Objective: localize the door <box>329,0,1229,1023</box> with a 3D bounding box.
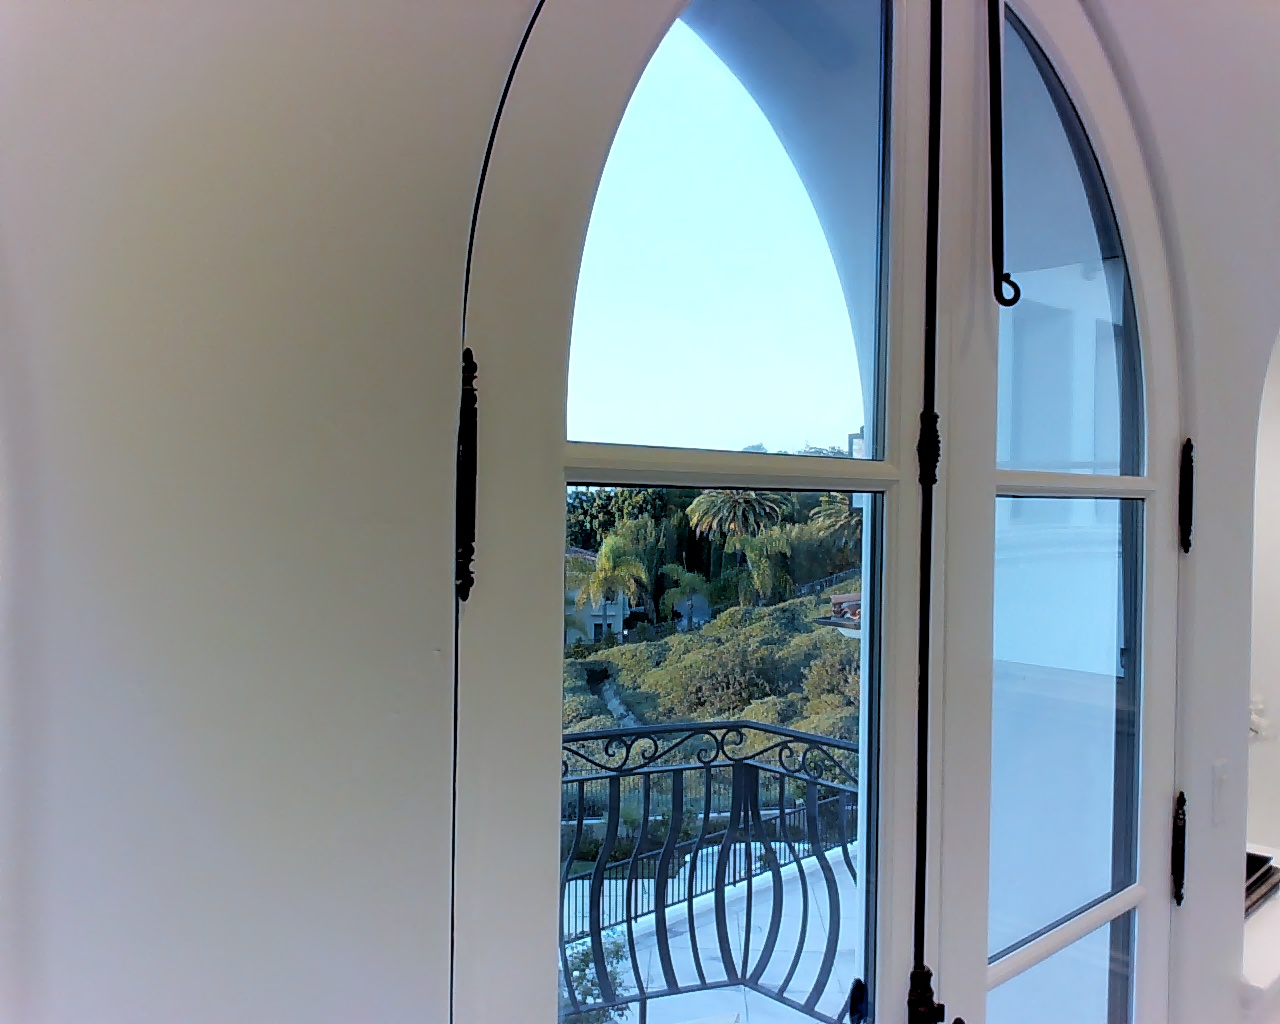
[{"bbox_3d":[0.380,0.390,1.410,1.620,2.491,0.140,-1,2,-42],"label":"door"}]
